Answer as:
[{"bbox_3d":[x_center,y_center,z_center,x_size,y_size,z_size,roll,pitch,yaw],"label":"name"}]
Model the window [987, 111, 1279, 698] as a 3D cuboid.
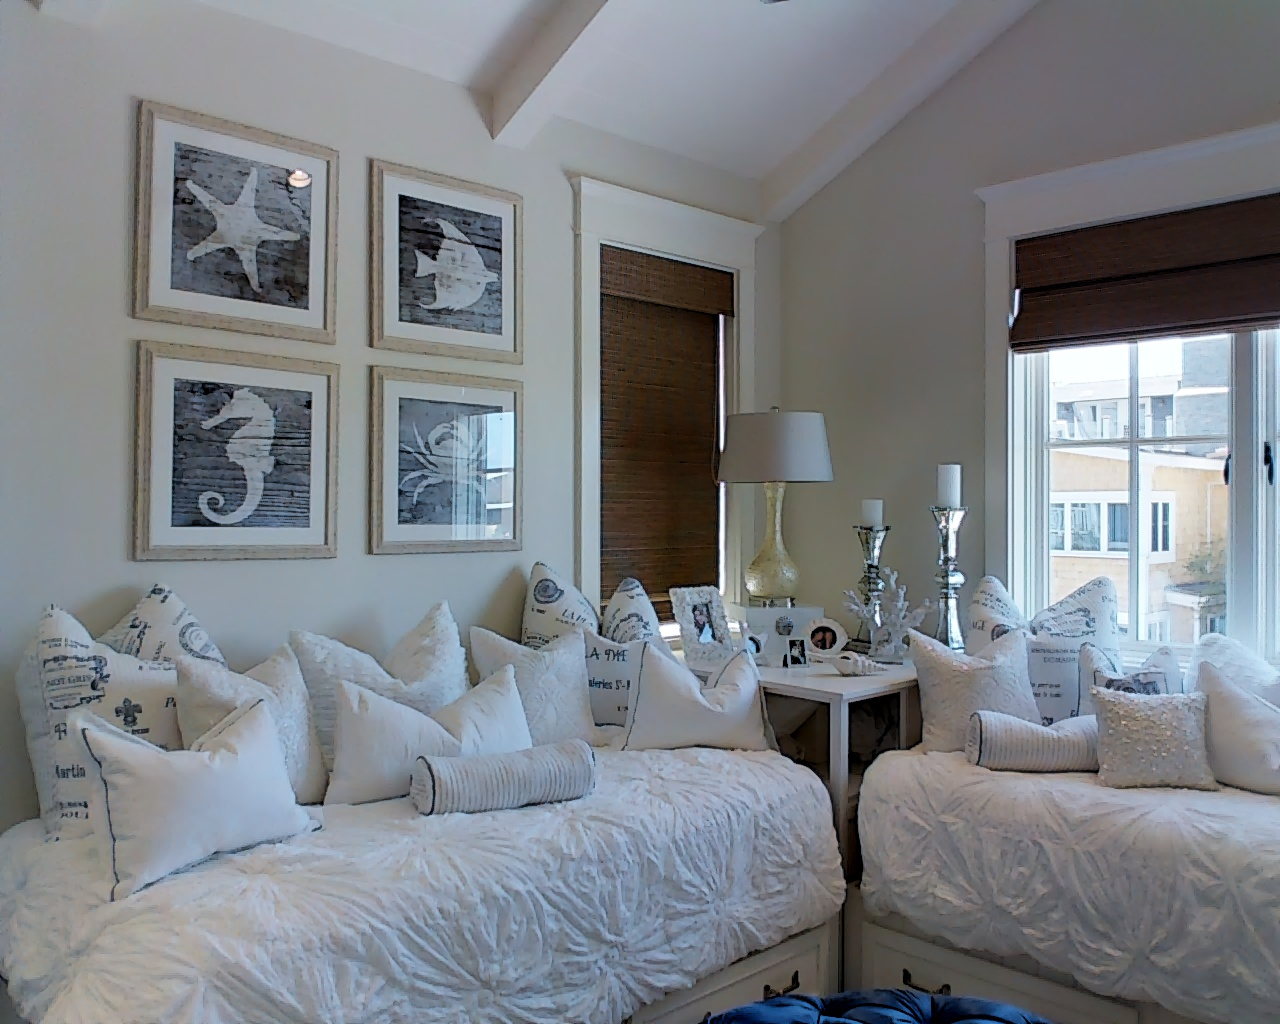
[{"bbox_3d":[1.959,-0.320,3.350,0.290,1.751,1.740,0,0,-43],"label":"window"}]
